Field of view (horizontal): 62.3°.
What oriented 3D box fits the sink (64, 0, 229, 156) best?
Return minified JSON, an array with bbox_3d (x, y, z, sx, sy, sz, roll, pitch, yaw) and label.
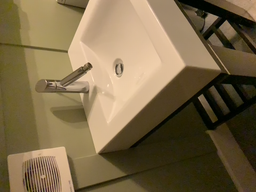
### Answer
[{"bbox_3d":[-0.030,-0.150,0.740,0.490,0.140,0.540,-48,54,43],"label":"sink"}]
